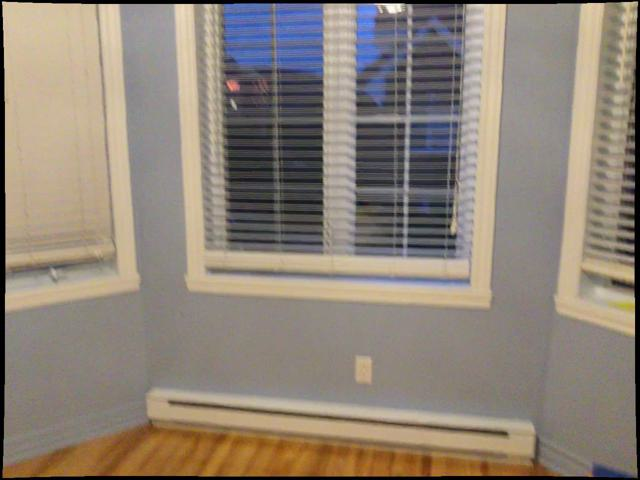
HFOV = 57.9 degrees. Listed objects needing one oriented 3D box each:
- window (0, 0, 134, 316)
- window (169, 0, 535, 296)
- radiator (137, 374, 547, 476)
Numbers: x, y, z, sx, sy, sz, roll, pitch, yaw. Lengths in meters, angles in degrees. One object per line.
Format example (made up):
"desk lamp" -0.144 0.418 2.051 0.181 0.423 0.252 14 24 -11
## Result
"window" -1.079 -0.460 2.300 0.580 1.471 0.190 -4 13 -31
"window" 0.100 -0.511 2.290 1.349 1.381 0.210 3 14 14
"radiator" 0.030 0.761 2.440 1.718 0.200 0.090 3 14 14
